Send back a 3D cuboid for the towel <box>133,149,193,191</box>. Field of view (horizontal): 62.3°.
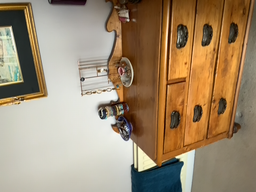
[{"bbox_3d":[0.310,0.750,1.900,0.160,0.510,0.380,35,131,55],"label":"towel"}]
